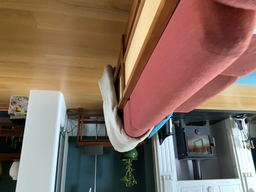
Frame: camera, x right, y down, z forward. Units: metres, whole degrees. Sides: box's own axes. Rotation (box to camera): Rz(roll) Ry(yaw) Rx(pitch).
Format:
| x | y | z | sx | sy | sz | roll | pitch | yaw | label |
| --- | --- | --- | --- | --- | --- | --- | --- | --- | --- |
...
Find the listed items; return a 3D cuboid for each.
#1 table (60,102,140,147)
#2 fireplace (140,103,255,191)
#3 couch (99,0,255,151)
| x | y | z | sx | sy | sz | roll | pitch | yaw | label |
| --- | --- | --- | --- | --- | --- | --- | --- | --- | --- |
| -0.400 | 0.450 | 3.110 | 1.030 | 0.510 | 0.600 | 2 | 158 | -10 | table |
| 1.160 | 0.930 | 3.320 | 1.710 | 1.350 | 0.880 | 3 | 158 | -10 | fireplace |
| 0.350 | -0.210 | 1.110 | 0.830 | 0.770 | 1.650 | 3 | 158 | -12 | couch |
